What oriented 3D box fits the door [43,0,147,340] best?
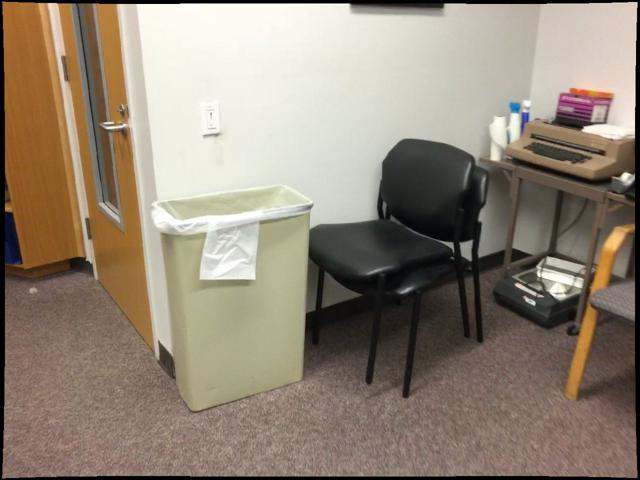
[{"bbox_3d":[-1.037,-0.672,2.580,0.090,2.004,1.029,-11,26,-35],"label":"door"}]
